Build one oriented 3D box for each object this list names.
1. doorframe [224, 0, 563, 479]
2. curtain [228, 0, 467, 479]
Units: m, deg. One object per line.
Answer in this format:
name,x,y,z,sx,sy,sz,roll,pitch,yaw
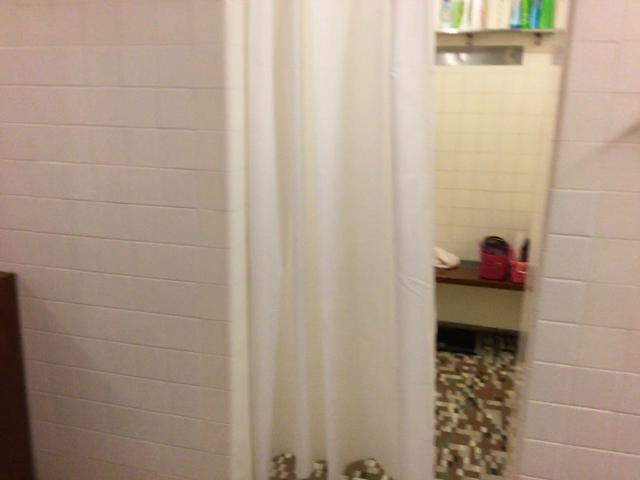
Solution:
doorframe,0.160,0.140,1.650,0.810,1.650,0.220,4,13,13
curtain,0.090,0.060,1.760,0.580,1.660,0.450,4,13,13
